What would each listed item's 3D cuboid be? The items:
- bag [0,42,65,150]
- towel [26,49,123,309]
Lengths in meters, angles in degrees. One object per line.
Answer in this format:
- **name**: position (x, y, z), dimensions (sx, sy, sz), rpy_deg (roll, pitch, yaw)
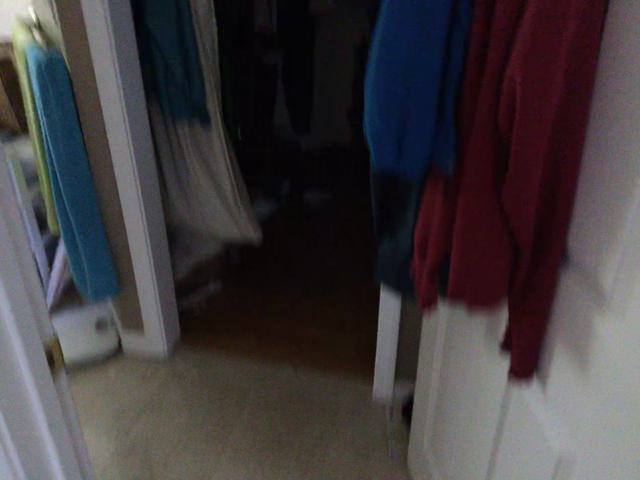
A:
- **bag**: position (-1.200, -0.550, 2.170), dimensions (0.330, 0.330, 0.230), rpy_deg (7, 29, 7)
- **towel**: position (-0.780, -0.190, 1.850), dimensions (0.110, 0.750, 0.340), rpy_deg (-15, 33, -29)
